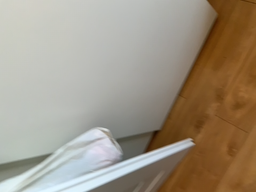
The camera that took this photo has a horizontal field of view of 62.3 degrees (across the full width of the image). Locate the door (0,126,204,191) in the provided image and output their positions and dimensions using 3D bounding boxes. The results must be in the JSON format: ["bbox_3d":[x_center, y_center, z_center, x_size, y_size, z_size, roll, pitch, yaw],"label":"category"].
[{"bbox_3d":[-0.370,0.540,0.660,0.090,2.170,0.820,41,112,30],"label":"door"}]
